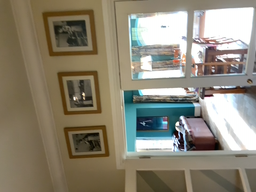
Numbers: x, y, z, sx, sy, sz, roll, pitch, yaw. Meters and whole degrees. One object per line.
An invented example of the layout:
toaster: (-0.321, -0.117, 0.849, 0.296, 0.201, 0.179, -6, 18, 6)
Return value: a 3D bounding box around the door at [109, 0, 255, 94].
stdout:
door: (0.880, -0.410, 1.490, 0.060, 1.990, 0.770, -84, -8, -68)
